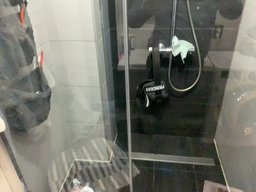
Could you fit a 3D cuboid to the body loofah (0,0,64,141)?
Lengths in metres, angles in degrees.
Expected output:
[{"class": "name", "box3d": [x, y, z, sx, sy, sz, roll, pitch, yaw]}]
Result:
[{"class": "body loofah", "box3d": [-0.460, -0.360, 0.760, 0.140, 1.100, 0.290, 5, 31, 11]}]
